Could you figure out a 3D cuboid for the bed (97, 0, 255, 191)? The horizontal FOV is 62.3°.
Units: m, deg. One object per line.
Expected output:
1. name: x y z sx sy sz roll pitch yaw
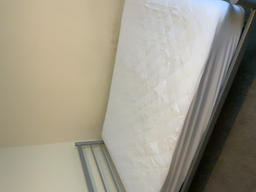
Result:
1. bed: 0.280 0.040 2.170 1.500 0.560 2.090 -131 47 -54
